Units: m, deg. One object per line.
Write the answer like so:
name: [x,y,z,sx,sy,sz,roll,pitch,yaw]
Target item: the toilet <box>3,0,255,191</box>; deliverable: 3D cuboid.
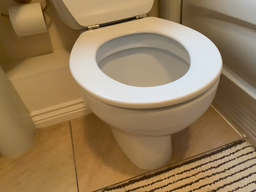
toilet: [-0.010,-0.180,0.620,0.390,0.790,0.640,-15,38,-8]
